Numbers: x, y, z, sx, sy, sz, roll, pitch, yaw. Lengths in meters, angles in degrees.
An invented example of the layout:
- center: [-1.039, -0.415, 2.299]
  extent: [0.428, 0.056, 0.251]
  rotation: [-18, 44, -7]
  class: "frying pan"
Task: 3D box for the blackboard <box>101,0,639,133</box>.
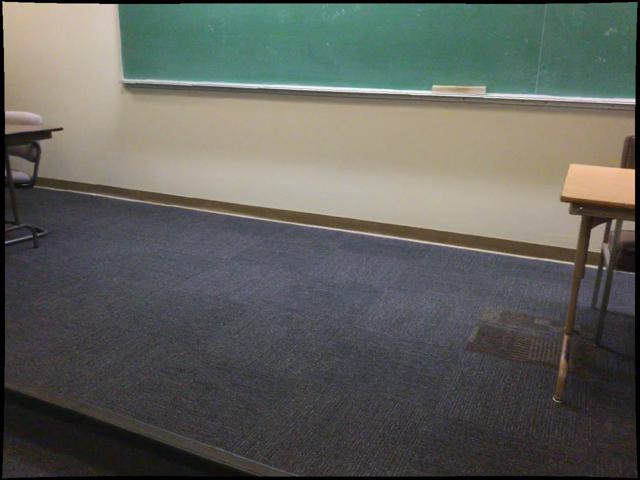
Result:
- center: [1.187, -1.323, 3.150]
  extent: [5.967, 1.343, 0.110]
  rotation: [9, 20, 21]
  class: "blackboard"
